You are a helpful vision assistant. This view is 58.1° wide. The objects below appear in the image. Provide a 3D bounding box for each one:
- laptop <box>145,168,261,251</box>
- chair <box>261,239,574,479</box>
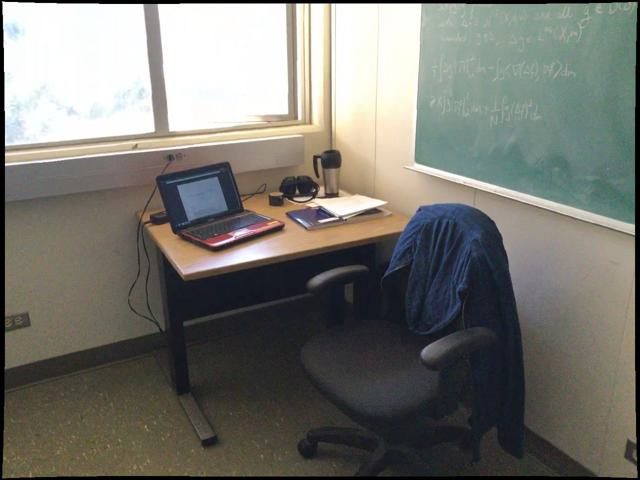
[{"bbox_3d":[-0.449,-0.130,2.200,0.319,0.190,0.310,-15,24,-31],"label":"laptop"},{"bbox_3d":[0.279,0.461,1.880,0.679,0.641,0.670,-13,23,-28],"label":"chair"}]
